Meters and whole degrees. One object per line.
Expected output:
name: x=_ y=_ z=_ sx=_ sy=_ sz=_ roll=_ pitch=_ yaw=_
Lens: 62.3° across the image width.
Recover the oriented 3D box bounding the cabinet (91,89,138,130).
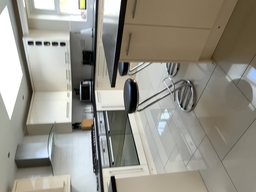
cabinet: x=-0.320 y=0.270 z=4.490 sx=0.590 sy=0.880 sz=0.580 roll=-106 pitch=20 yaw=-46

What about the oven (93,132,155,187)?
oven: x=-0.110 y=1.070 z=3.640 sx=0.620 sy=0.900 sz=0.570 roll=-106 pitch=20 yaw=-46

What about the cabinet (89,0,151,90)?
cabinet: x=-0.120 y=-1.740 z=3.480 sx=0.600 sy=0.880 sz=3.780 roll=-106 pitch=20 yaw=-45

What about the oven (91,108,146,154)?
oven: x=-0.220 y=0.660 z=4.070 sx=0.580 sy=0.900 sz=0.580 roll=-106 pitch=20 yaw=-46
